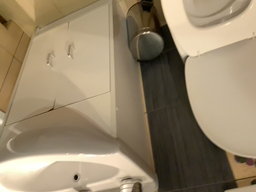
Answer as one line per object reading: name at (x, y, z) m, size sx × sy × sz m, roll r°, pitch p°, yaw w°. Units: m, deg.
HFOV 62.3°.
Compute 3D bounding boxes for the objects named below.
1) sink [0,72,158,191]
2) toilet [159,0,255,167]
sink at (-0.200, 0.190, 0.730) m, size 0.490 × 0.200 × 0.390 m, roll -17°, pitch 141°, yaw 15°
toilet at (0.310, -0.280, 0.720) m, size 0.350 × 0.820 × 0.530 m, roll -17°, pitch 141°, yaw 15°
